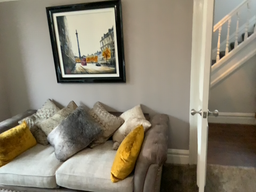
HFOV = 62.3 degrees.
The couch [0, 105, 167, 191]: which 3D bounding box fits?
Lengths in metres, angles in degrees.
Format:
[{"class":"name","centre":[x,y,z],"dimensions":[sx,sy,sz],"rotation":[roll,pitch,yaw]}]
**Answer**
[{"class":"couch","centre":[-0.670,0.640,2.550],"dimensions":[2.200,0.690,1.090],"rotation":[1,16,13]}]
